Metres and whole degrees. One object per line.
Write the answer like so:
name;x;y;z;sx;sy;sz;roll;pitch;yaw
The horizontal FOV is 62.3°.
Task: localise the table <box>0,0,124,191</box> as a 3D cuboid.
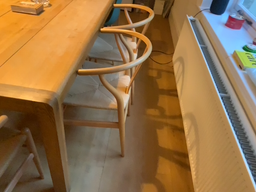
table;-0.650;-0.400;1.760;0.930;0.740;1.980;10;40;1
